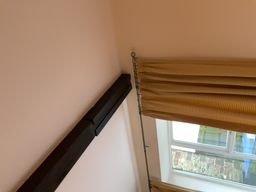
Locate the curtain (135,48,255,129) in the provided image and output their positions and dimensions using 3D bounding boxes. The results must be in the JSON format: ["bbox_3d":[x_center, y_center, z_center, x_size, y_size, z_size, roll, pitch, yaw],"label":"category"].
[{"bbox_3d":[1.310,-0.060,2.160,0.260,2.480,0.790,-53,-38,-52],"label":"curtain"}]
